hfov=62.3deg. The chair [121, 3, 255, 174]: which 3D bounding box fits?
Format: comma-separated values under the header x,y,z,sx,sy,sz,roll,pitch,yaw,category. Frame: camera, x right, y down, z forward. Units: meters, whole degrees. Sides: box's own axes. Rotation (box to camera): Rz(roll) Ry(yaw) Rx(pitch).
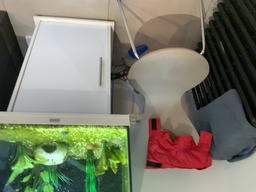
x,y,z,sx,sy,sz,roll,pitch,yaw,category
0.230,-0.030,1.290,0.470,0.820,0.600,3,144,-8,chair
